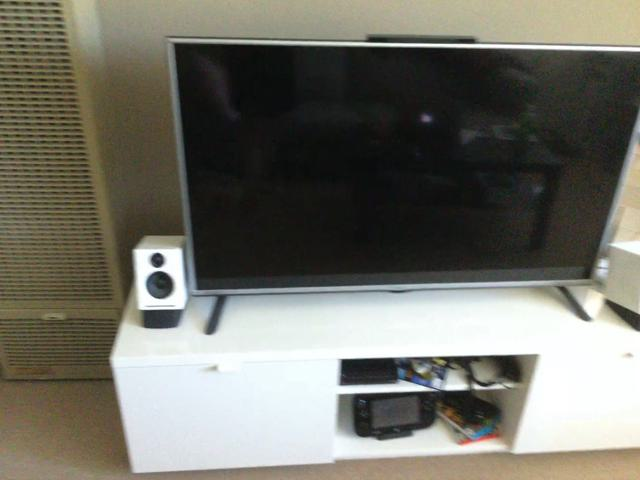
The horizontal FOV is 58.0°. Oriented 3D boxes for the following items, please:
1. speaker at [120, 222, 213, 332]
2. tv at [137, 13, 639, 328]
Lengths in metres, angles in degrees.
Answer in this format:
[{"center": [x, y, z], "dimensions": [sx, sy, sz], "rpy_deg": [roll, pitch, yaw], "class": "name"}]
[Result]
[{"center": [-0.380, 0.090, 1.470], "dimensions": [0.170, 0.200, 0.190], "rpy_deg": [-4, 27, -2], "class": "speaker"}, {"center": [0.210, -0.140, 1.390], "dimensions": [1.140, 0.700, 0.090], "rpy_deg": [-4, 27, -2], "class": "tv"}]
